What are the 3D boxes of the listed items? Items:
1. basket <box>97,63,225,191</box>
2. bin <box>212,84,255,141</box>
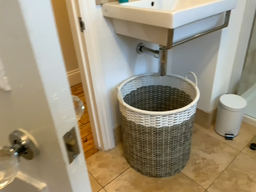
[{"bbox_3d":[0.190,0.160,1.310,0.500,0.480,0.500,-28,39,-33],"label":"basket"},{"bbox_3d":[0.750,0.110,1.480,0.190,0.290,0.200,-29,39,-33],"label":"bin"}]
